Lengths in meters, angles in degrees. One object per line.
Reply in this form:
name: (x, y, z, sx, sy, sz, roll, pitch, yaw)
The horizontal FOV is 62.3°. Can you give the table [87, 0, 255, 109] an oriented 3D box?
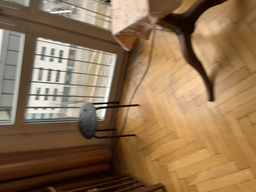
table: (0.280, -0.340, 1.220, 0.740, 0.700, 0.720, -17, 75, 47)
